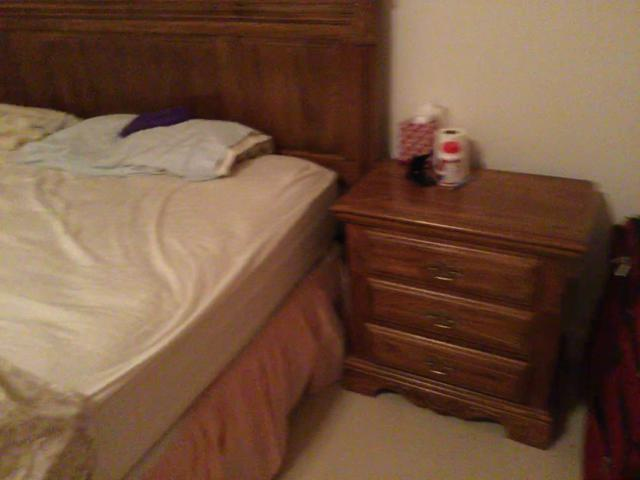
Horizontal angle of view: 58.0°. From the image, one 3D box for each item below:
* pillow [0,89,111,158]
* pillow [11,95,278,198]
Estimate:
[{"bbox_3d":[-1.190,-0.460,2.200,0.540,0.130,0.500,12,24,24],"label":"pillow"},{"bbox_3d":[-0.570,-0.340,1.930,0.730,0.170,0.450,12,24,24],"label":"pillow"}]
